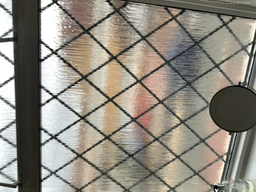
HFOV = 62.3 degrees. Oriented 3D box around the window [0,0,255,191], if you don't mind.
[{"bbox_3d":[-0.050,0.120,0.840,0.050,1.120,0.940,-122,36,-72],"label":"window"}]
